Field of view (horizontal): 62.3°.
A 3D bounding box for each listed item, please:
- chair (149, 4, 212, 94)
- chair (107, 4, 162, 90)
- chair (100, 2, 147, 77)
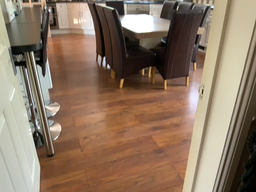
[{"bbox_3d":[0.630,-0.630,2.750,0.450,1.000,0.550,-11,29,-21],"label":"chair"},{"bbox_3d":[0.060,-0.660,2.820,0.550,1.000,0.450,-9,28,-17],"label":"chair"},{"bbox_3d":[-0.080,-0.860,3.210,0.550,1.000,0.450,-9,28,-17],"label":"chair"}]
